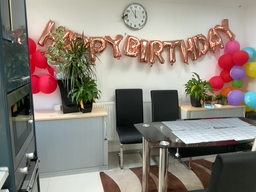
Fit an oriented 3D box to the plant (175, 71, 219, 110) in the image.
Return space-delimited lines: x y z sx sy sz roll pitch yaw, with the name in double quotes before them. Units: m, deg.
"plant" 0.950 -0.100 2.990 0.350 0.470 0.500 -2 10 -13
